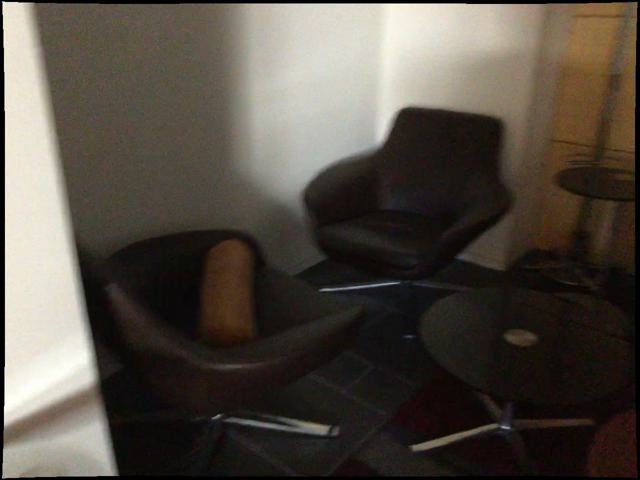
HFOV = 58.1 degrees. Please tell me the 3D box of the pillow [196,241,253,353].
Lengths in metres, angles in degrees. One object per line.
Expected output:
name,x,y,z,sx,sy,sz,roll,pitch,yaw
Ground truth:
pillow,-0.309,0.170,1.890,0.160,0.120,0.460,-3,28,-7
